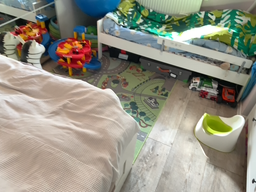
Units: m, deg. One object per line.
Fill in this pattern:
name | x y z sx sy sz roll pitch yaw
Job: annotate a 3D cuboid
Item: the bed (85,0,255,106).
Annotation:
bed | 0.520 -0.630 2.580 1.850 0.450 0.880 20 44 15
